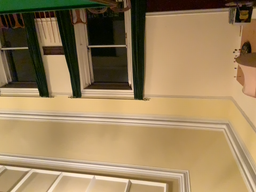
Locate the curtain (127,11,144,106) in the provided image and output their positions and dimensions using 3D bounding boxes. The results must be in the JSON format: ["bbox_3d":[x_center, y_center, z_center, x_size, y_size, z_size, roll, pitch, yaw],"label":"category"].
[{"bbox_3d":[0.180,-0.780,4.670,0.290,2.020,0.290,2,-160,11],"label":"curtain"}]

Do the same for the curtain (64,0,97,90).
[{"bbox_3d":[-1.070,-1.390,4.810,0.440,2.510,0.390,1,-160,10],"label":"curtain"}]
